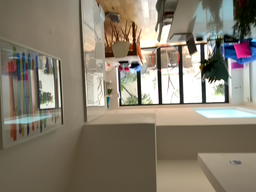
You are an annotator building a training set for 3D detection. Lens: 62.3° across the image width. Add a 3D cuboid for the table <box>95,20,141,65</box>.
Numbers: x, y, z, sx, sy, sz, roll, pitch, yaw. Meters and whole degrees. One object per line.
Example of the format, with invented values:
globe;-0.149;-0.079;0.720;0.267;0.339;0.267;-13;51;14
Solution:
table;-0.170;-1.340;5.720;0.920;0.760;1.830;-2;-178;7
